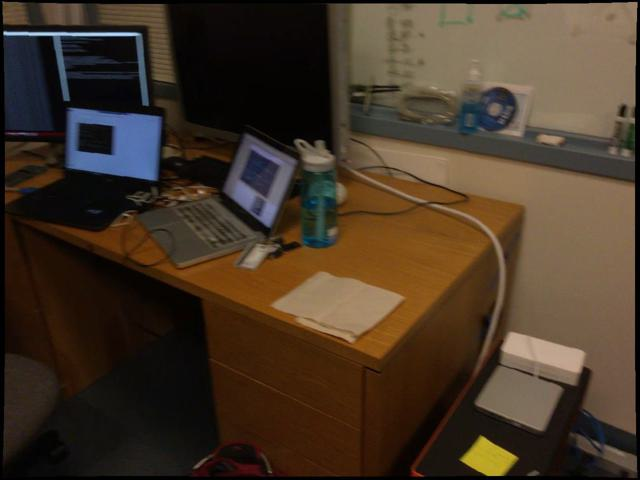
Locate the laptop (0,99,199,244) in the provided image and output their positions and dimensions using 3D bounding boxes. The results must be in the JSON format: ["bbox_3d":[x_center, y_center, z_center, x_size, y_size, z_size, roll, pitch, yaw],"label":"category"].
[{"bbox_3d":[-0.668,-0.221,1.670,0.489,0.240,0.350,12,32,22],"label":"laptop"}]

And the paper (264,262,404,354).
[{"bbox_3d":[0.030,0.130,1.190,0.220,0.030,0.190,18,34,30],"label":"paper"}]

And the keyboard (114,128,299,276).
[{"bbox_3d":[-0.299,-0.120,1.520,0.359,0.200,0.340,-17,33,-27],"label":"keyboard"}]
